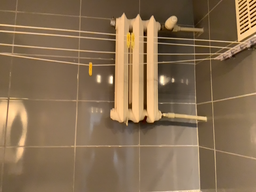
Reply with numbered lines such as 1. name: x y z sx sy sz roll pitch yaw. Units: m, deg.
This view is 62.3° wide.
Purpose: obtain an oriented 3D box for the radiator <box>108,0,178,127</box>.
1. radiator: 0.070 -0.160 1.160 0.340 0.650 0.190 2 -8 -5
